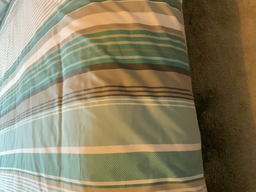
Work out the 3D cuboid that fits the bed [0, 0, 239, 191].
[{"bbox_3d":[-0.360,0.050,1.200,1.560,0.560,2.090,-15,73,47],"label":"bed"}]
